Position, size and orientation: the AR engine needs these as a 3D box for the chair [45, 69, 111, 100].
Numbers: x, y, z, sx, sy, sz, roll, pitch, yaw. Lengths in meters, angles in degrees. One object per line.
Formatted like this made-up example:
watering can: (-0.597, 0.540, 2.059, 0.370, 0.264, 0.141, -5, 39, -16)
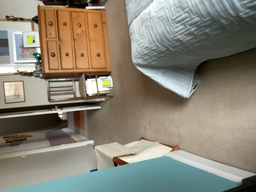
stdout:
chair: (-0.790, -0.180, 3.340, 0.460, 0.920, 0.390, 173, 93, -66)
